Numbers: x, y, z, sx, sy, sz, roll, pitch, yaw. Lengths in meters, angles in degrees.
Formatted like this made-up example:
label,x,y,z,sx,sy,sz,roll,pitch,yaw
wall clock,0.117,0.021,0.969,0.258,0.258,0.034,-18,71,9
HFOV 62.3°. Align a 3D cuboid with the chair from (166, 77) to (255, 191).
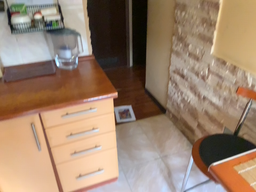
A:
label,x,y,z,sx,sy,sz,roll,pitch,yaw
chair,0.560,0.400,1.250,0.410,0.840,0.490,-12,33,-17
